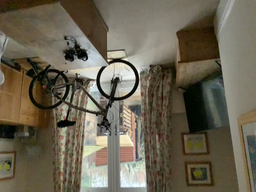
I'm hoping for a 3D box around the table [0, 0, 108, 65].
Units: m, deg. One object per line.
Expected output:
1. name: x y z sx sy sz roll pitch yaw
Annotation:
1. table: -0.630 -0.690 1.820 0.610 0.440 1.080 -5 167 12
